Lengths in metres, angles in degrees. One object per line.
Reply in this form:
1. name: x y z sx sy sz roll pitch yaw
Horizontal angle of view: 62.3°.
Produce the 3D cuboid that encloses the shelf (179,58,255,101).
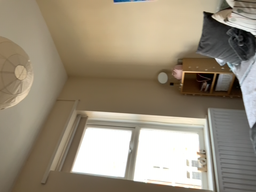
1. shelf: 1.250 -0.230 2.920 0.440 1.020 0.330 83 -166 -46
